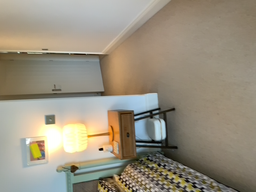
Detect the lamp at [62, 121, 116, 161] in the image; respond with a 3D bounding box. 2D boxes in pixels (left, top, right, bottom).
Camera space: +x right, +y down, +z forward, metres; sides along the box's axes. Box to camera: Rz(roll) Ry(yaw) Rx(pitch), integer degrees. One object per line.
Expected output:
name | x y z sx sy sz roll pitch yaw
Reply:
lamp | -0.370 0.400 1.980 0.260 0.440 0.280 166 100 -68
